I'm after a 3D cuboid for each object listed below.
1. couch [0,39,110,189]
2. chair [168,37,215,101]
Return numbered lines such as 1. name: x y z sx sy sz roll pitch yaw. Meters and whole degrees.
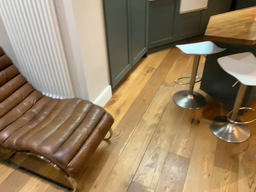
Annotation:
1. couch: -0.880 0.070 1.820 1.210 0.790 0.700 12 38 17
2. chair: 0.700 -0.310 2.450 0.330 0.630 0.330 -5 36 -5
